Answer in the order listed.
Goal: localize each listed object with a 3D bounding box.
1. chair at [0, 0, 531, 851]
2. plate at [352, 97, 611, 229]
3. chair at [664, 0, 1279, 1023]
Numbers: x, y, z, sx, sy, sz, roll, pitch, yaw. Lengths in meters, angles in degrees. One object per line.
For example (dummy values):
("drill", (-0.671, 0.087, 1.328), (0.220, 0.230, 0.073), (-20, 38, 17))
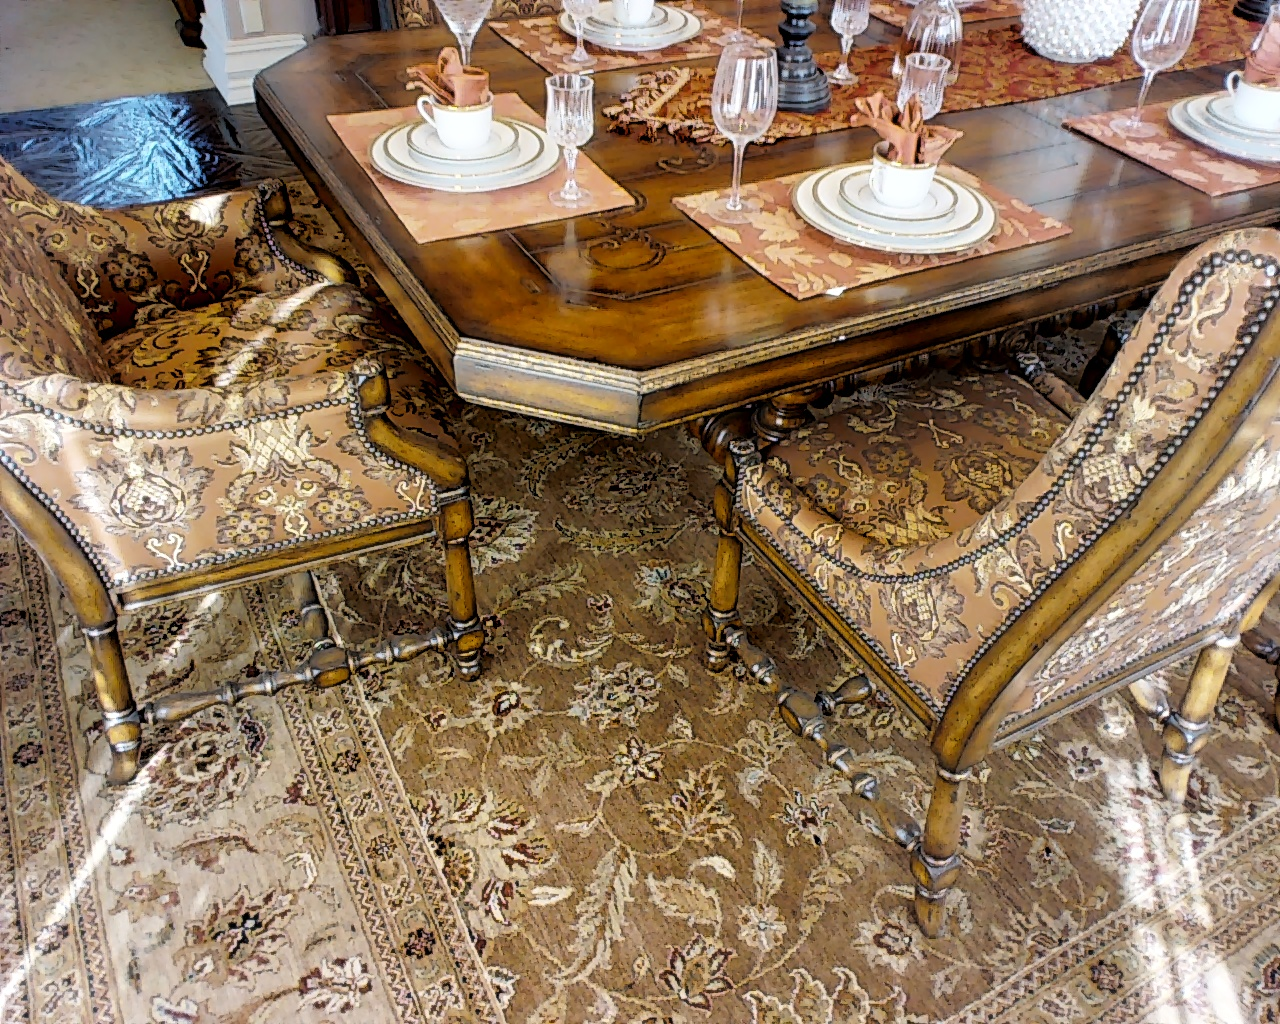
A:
("chair", (-0.700, -0.260, 1.550), (0.850, 1.160, 0.720), (-15, 44, -20))
("plate", (-0.240, -0.530, 1.590), (0.280, 0.040, 0.300), (-20, 46, -24))
("chair", (0.560, -0.080, 1.400), (0.680, 1.190, 0.800), (-19, 45, -23))
